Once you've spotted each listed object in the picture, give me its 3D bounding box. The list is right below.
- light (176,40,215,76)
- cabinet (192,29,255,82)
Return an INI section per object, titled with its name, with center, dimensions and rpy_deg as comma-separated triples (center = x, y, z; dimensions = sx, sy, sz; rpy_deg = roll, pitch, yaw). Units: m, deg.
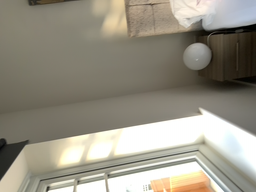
[light]
center = 0.630, -0.360, 2.020
dimensions = 0.350, 0.200, 0.280
rpy_deg = -134, 36, -76
[cabinet]
center = 0.990, -0.400, 2.050
dimensions = 0.490, 0.520, 0.400
rpy_deg = -132, 35, -76
